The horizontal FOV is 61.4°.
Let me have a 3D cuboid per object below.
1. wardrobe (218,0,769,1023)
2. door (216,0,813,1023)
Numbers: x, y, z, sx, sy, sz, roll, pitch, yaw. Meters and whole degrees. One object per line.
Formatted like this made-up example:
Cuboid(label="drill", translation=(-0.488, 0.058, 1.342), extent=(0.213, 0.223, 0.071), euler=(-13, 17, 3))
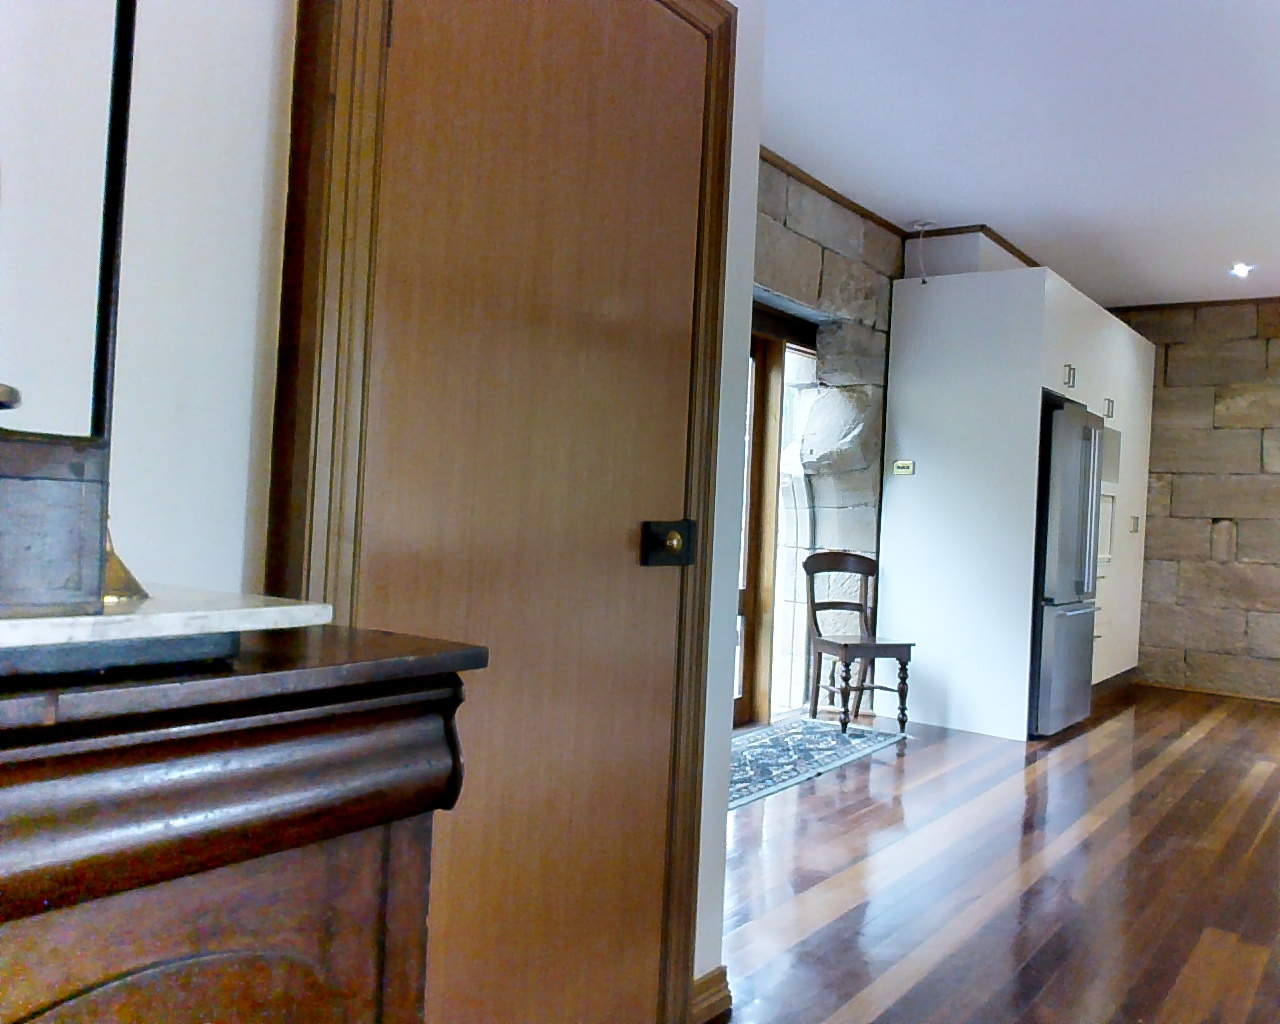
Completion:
Cuboid(label="wardrobe", translation=(-0.170, 0.040, 1.880), extent=(0.150, 2.171, 1.010), euler=(2, -3, 38))
Cuboid(label="door", translation=(-0.100, -0.070, 1.890), extent=(0.160, 2.401, 1.240), euler=(2, 0, 37))
